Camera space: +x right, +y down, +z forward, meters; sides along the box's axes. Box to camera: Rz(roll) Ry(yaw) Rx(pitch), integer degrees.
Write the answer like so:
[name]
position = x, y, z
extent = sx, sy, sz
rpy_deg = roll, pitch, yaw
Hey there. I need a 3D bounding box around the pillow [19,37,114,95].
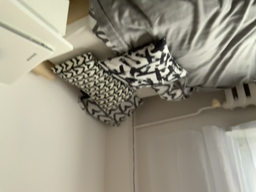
[pillow]
position = -0.340, -0.150, 1.290
extent = 0.350, 0.070, 0.450
rpy_deg = -10, 155, 21
